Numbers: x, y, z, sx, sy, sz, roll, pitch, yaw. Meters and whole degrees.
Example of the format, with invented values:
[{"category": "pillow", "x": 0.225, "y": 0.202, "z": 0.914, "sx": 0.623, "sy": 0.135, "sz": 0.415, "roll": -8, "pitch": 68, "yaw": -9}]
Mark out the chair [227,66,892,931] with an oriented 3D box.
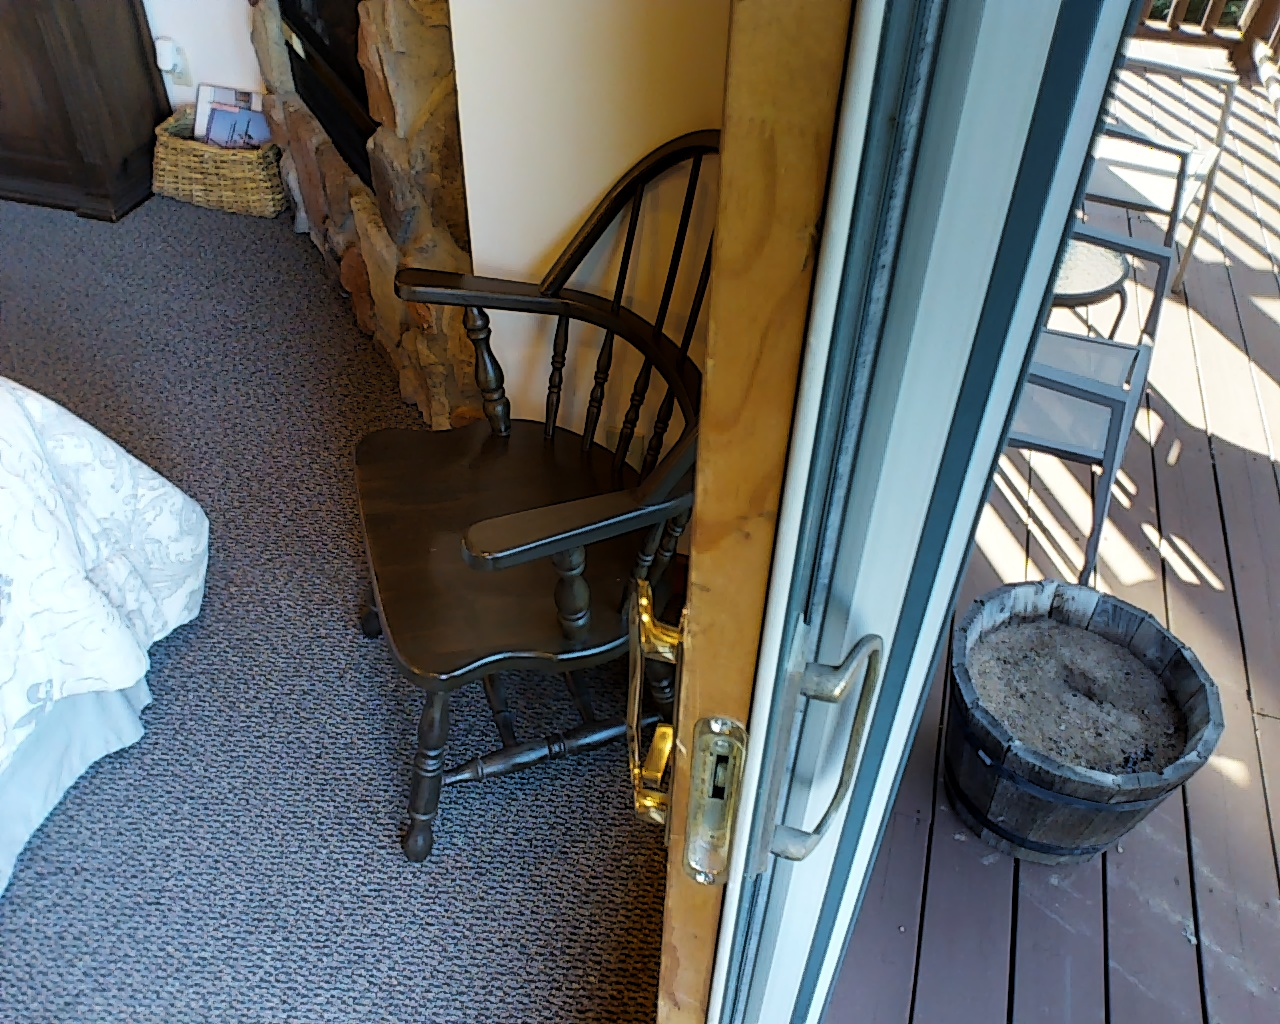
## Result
[{"category": "chair", "x": -0.160, "y": -0.020, "z": 1.540, "sx": 0.580, "sy": 0.940, "sz": 0.660, "roll": -12, "pitch": 44, "yaw": -18}]
